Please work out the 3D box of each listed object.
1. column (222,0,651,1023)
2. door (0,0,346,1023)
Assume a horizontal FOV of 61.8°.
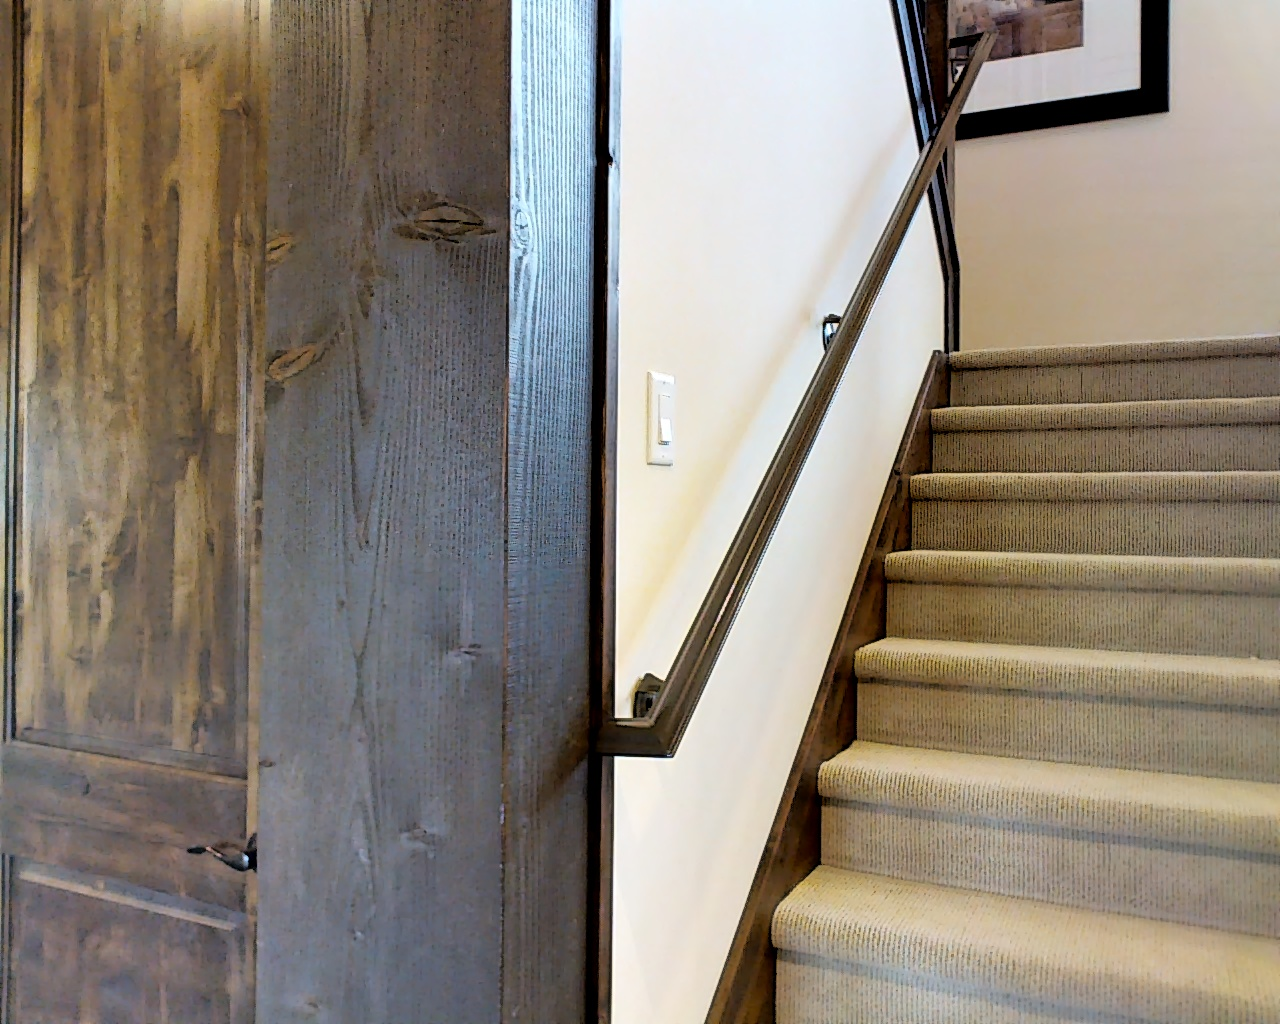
[{"bbox_3d":[-0.220,-0.110,1.230,0.360,2.990,0.310,0,-1,26],"label":"column"},{"bbox_3d":[-0.790,0.100,1.610,0.850,2.500,0.050,0,-1,27],"label":"door"}]
